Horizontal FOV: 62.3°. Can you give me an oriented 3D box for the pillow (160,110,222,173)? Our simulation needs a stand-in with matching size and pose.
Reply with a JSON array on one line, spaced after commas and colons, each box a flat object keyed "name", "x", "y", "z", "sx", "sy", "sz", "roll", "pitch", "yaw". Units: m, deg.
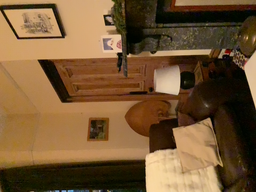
[{"name": "pillow", "x": 0.550, "y": 0.390, "z": 1.870, "sx": 0.390, "sy": 0.360, "sz": 0.090, "roll": -44, "pitch": -18, "yaw": -18}]

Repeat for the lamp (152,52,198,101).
[{"name": "lamp", "x": 0.480, "y": -0.210, "z": 2.290, "sx": 0.290, "sy": 0.390, "sz": 0.430, "roll": 90, "pitch": 179, "yaw": -59}]
